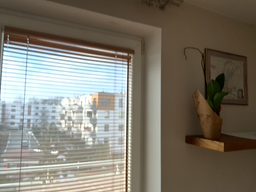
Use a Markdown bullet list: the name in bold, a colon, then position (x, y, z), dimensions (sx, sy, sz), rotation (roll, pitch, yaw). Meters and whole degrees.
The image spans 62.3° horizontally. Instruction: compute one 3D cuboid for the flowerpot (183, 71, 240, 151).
- **flowerpot**: position (0.550, 0.100, 1.420), dimensions (0.280, 0.480, 0.210), rotation (3, -5, -23)
